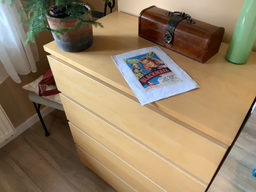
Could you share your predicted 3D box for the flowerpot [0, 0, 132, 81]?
[{"bbox_3d":[-0.230,-0.400,0.690,0.300,0.500,0.400,31,51,29],"label":"flowerpot"}]
